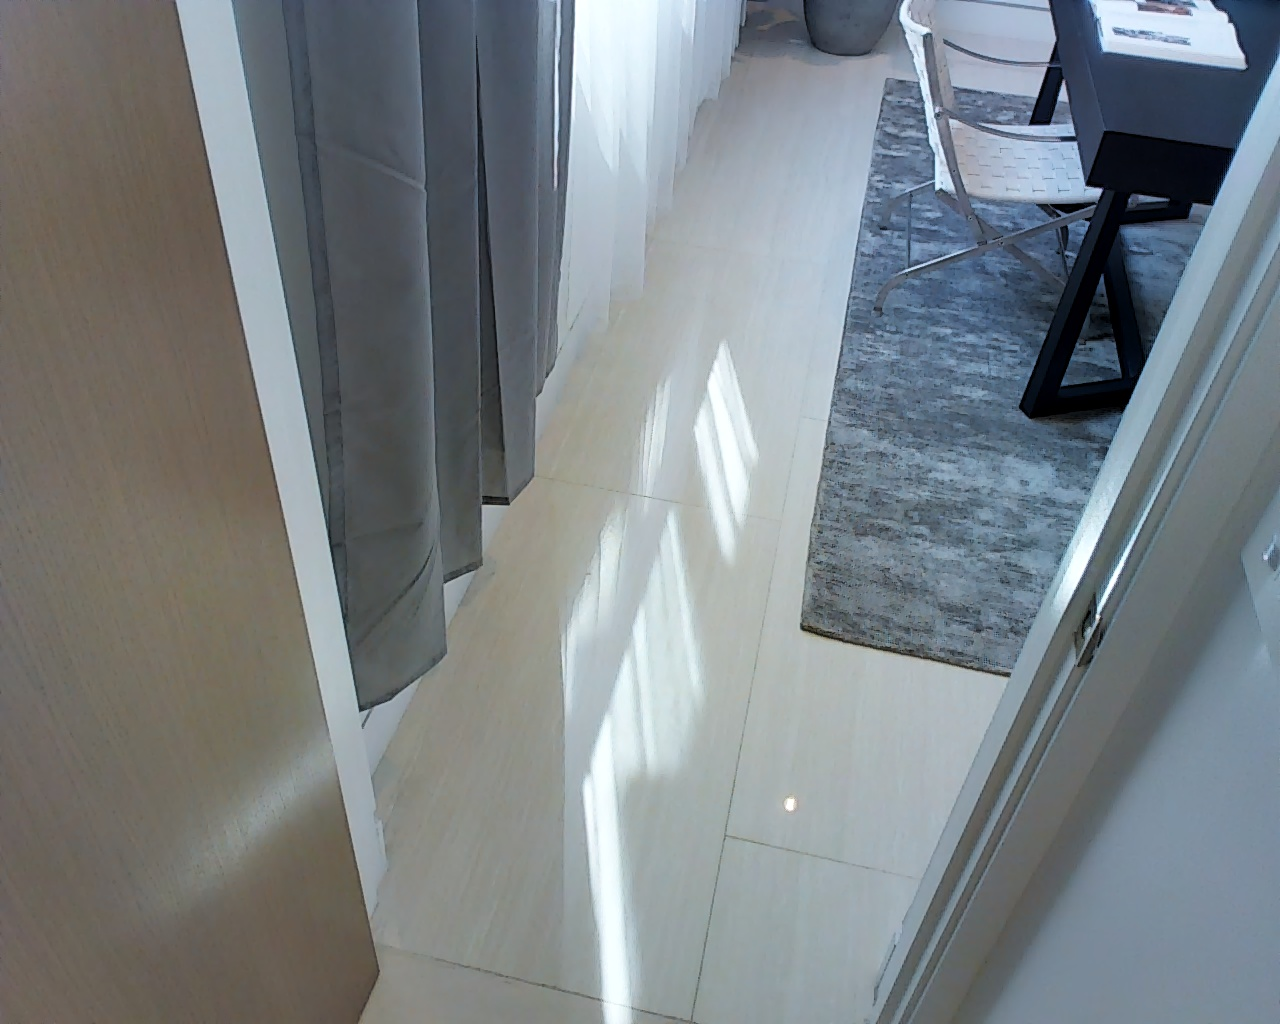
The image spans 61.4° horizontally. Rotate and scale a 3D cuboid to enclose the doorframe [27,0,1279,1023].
[{"bbox_3d":[0.030,-0.250,0.780,0.830,2.480,0.220,11,42,8],"label":"doorframe"}]
